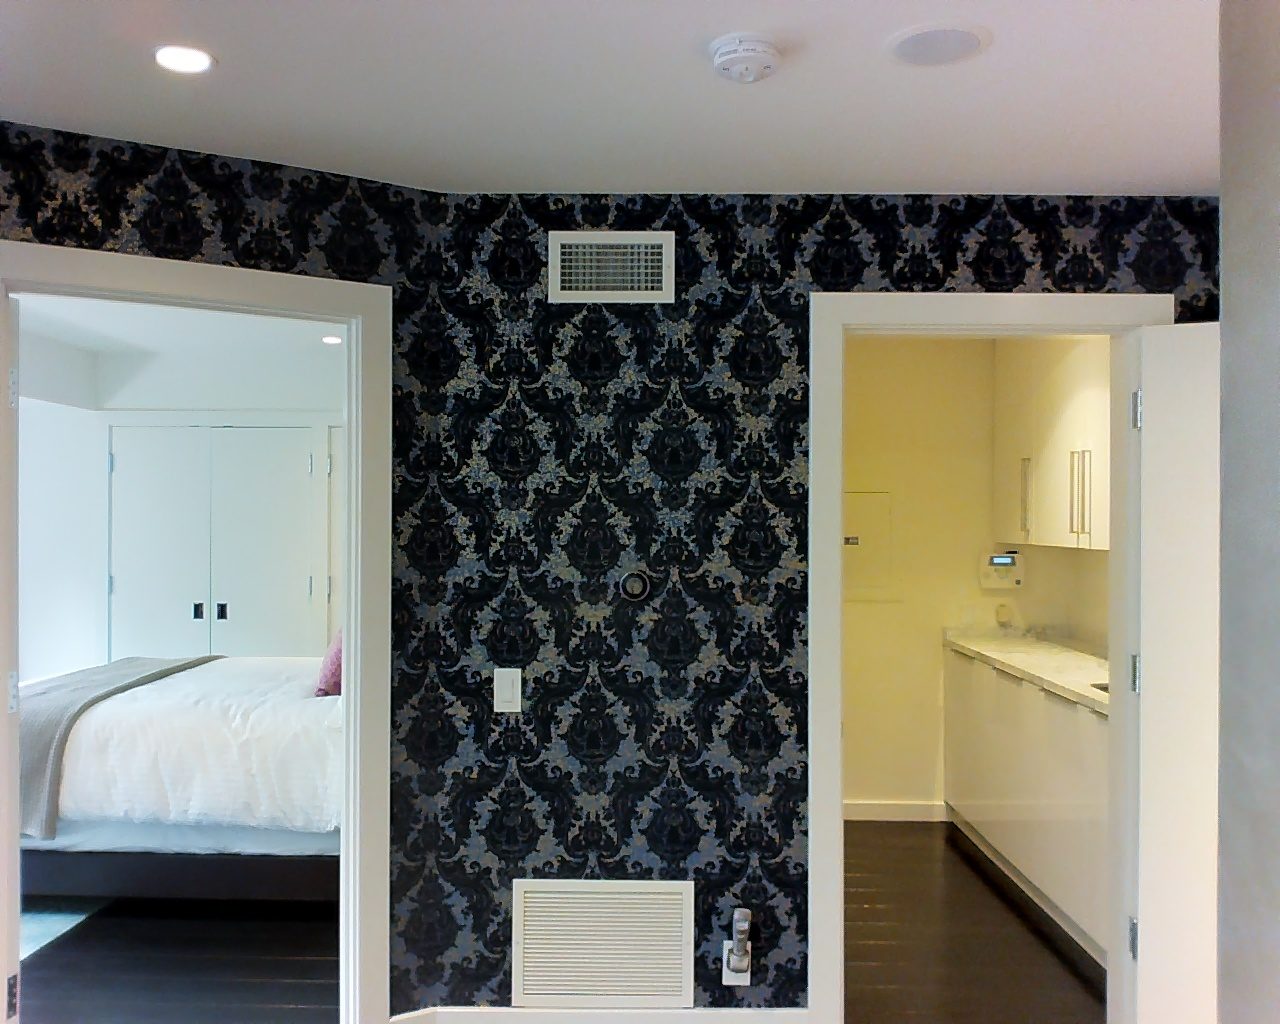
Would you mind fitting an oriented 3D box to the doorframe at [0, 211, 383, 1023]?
[{"bbox_3d":[-1.120,0.430,2.710,0.880,2.200,0.190,1,0,-32],"label":"doorframe"}]

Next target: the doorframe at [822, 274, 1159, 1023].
[{"bbox_3d":[0.990,0.430,3.090,0.870,2.170,0.240,1,0,0],"label":"doorframe"}]

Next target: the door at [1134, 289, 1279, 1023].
[{"bbox_3d":[1.780,0.470,2.770,0.900,2.100,0.040,1,0,22],"label":"door"}]
